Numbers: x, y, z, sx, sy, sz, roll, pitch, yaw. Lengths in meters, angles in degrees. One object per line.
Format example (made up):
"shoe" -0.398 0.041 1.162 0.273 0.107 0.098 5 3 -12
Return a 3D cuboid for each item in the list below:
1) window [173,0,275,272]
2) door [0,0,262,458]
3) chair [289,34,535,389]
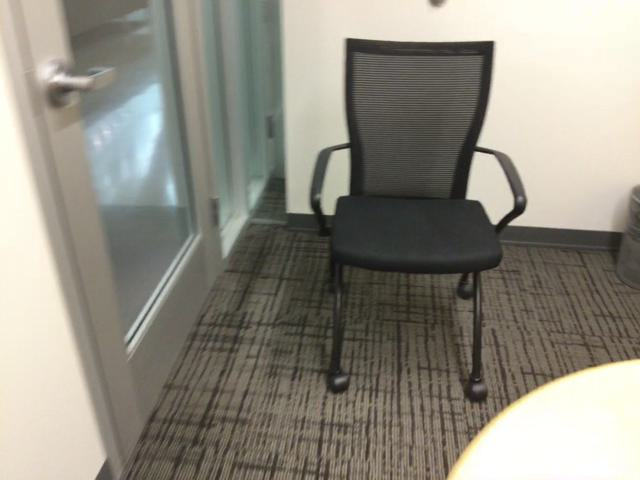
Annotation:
"window" -0.380 -0.930 1.990 0.120 2.190 0.420 2 30 11
"door" -0.480 -0.610 1.440 0.160 2.160 0.990 2 30 11
"chair" 0.250 -0.100 1.760 0.540 0.890 0.590 1 30 7
